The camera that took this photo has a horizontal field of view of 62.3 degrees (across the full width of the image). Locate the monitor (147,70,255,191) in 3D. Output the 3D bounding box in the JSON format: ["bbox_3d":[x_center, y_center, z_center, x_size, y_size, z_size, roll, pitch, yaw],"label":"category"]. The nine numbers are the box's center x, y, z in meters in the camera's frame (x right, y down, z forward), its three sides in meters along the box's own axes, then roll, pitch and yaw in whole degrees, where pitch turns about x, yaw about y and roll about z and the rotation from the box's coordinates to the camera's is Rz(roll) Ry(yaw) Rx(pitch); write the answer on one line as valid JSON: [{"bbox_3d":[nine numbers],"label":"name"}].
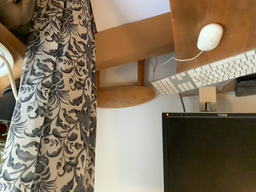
[{"bbox_3d":[0.330,0.160,0.740,0.430,0.480,0.050,-11,153,-1],"label":"monitor"}]
